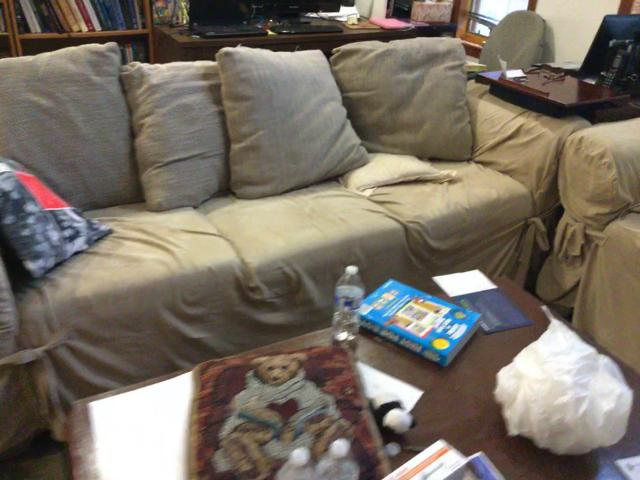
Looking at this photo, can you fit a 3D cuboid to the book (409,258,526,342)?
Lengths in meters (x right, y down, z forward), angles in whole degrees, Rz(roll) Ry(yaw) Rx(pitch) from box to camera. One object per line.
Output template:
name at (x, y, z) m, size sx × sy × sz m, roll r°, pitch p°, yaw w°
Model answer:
book at (0.410, 0.160, 1.630) m, size 0.180 × 0.040 × 0.270 m, roll -27°, pitch 35°, yaw -22°

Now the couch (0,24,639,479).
couch at (-0.180, -0.150, 1.980) m, size 2.330 × 0.950 × 0.990 m, roll -13°, pitch 31°, yaw -28°

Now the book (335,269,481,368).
book at (0.220, 0.200, 1.490) m, size 0.220 × 0.080 × 0.310 m, roll 15°, pitch 16°, yaw -39°
